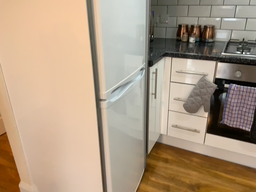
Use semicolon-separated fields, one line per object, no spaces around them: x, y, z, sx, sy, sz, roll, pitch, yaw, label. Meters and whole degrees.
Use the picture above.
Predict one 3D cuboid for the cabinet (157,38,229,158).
0.600;-0.020;1.970;0.450;0.900;0.580;10;26;24;cabinet
